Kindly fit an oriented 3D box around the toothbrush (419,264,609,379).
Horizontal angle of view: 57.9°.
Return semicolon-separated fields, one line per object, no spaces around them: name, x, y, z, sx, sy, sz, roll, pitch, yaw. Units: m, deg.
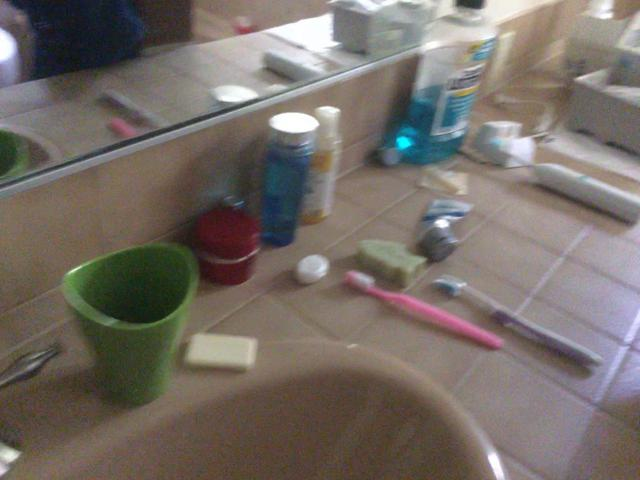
toothbrush;0.200;0.080;0.610;0.190;0.010;0.050;27;39;27
